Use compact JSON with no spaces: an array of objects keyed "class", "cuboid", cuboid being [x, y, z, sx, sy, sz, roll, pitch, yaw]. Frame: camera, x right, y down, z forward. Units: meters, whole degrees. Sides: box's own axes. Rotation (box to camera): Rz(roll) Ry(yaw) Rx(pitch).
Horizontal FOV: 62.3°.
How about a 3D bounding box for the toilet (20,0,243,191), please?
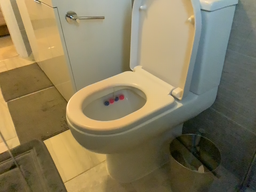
[{"class":"toilet","cuboid":[0.030,-0.020,0.910,0.610,0.850,0.420,-23,39,-26]}]
